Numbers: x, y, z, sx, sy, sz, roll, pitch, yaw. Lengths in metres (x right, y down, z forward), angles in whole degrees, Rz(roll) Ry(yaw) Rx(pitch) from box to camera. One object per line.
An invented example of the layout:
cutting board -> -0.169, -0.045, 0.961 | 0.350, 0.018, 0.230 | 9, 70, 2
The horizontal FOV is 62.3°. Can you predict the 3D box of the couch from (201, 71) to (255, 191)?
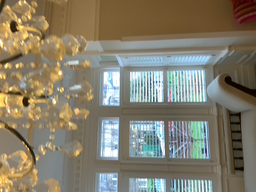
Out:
couch -> 1.550, 0.510, 2.880 | 0.700, 0.820, 1.550 | 68, -158, -78
